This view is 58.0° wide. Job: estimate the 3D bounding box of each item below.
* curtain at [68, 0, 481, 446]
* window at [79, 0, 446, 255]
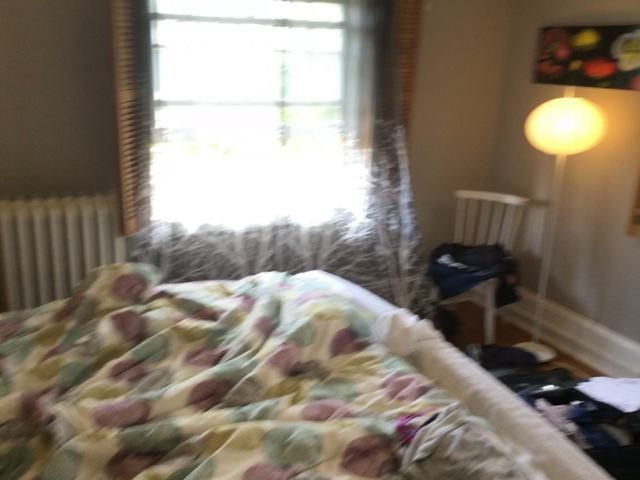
[{"bbox_3d":[-0.180,-0.350,2.760,1.670,2.100,0.710,-9,19,-26],"label":"curtain"},{"bbox_3d":[-0.190,-0.700,2.800,1.700,1.280,0.300,-9,19,-26],"label":"window"}]
